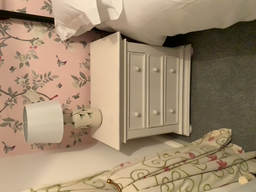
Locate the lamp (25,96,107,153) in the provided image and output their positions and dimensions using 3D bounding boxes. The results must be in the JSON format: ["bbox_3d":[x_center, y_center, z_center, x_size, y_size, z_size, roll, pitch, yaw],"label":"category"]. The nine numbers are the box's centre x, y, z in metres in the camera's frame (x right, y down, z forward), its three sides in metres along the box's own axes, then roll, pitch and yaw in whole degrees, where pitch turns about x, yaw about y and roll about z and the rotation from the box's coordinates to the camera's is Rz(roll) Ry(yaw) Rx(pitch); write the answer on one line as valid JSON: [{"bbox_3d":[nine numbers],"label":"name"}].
[{"bbox_3d":[-0.350,0.140,1.220,0.200,0.410,0.250,6,98,57],"label":"lamp"}]

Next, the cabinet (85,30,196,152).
[{"bbox_3d":[0.080,-0.050,1.490,0.420,0.630,0.660,9,100,56],"label":"cabinet"}]
